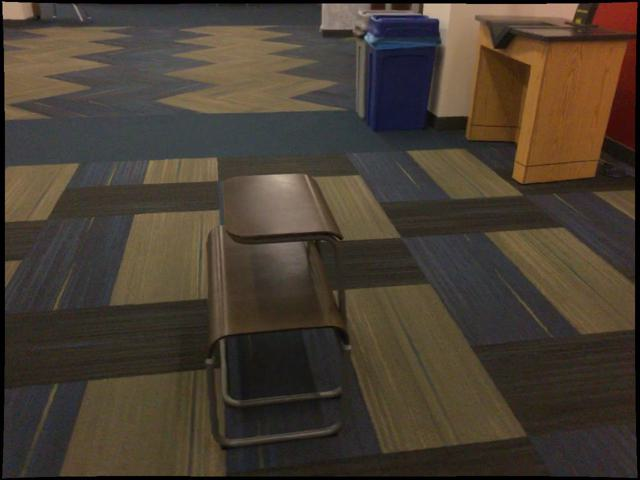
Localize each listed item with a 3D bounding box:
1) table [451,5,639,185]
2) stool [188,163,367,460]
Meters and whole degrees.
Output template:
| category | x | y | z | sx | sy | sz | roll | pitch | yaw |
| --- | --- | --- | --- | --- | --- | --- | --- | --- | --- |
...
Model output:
| category | x | y | z | sx | sy | sz | roll | pitch | yaw |
| --- | --- | --- | --- | --- | --- | --- | --- | --- | --- |
| table | 1.347 | -0.932 | 3.570 | 0.638 | 0.912 | 0.850 | -4 | 26 | -12 |
| stool | -0.190 | 0.180 | 1.950 | 0.459 | 0.661 | 0.760 | -3 | 26 | -11 |
